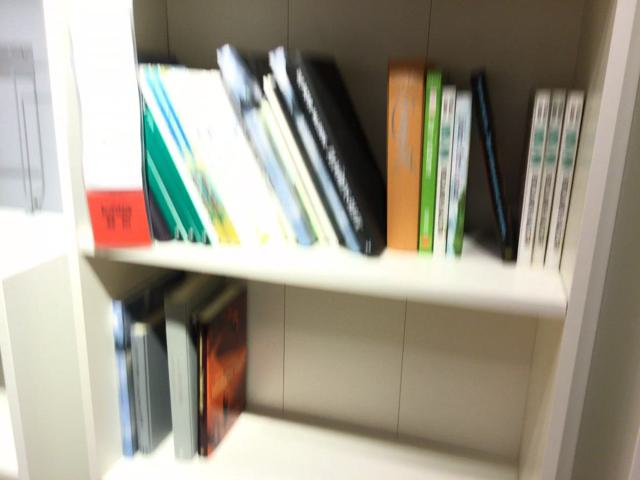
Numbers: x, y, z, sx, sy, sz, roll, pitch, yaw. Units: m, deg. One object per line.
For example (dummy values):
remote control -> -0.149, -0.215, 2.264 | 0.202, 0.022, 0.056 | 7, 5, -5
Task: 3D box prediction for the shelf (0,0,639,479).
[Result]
shelf -> -0.020, 0.200, 0.810 | 0.650, 1.790, 0.270 | 7, 18, 16
